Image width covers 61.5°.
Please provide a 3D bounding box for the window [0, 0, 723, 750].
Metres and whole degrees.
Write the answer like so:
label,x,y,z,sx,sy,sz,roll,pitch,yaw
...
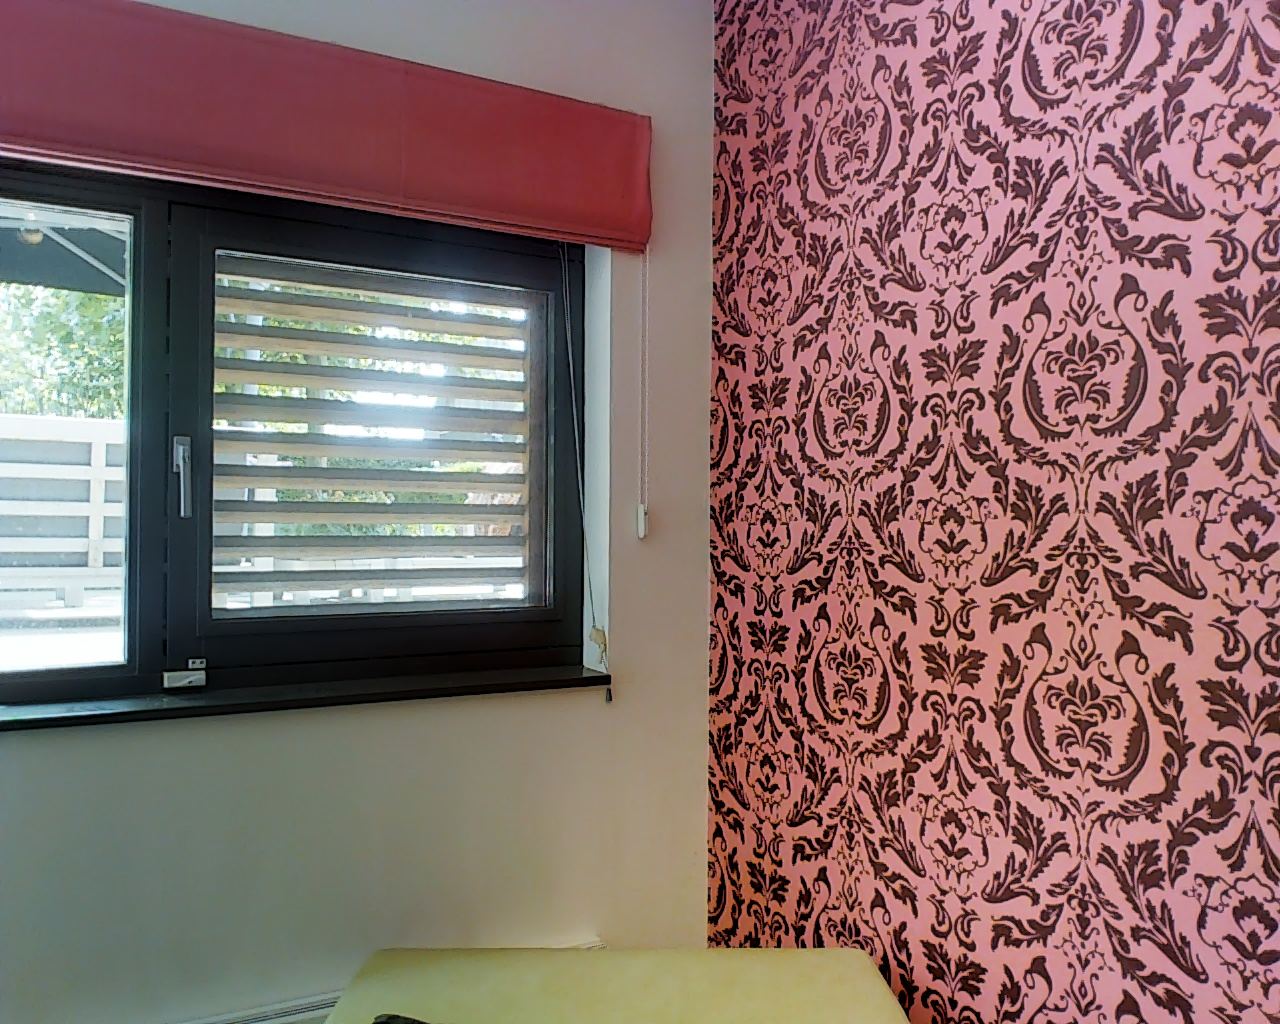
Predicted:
label,x,y,z,sx,sy,sz,roll,pitch,yaw
window,-1.130,-0.430,1.860,2.930,1.640,0.240,1,-1,-31
